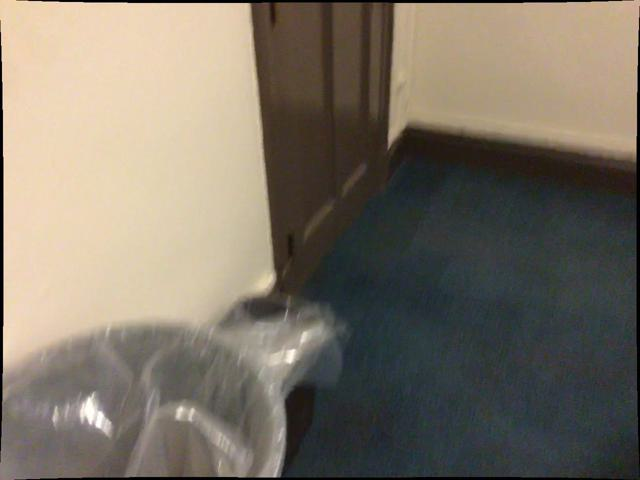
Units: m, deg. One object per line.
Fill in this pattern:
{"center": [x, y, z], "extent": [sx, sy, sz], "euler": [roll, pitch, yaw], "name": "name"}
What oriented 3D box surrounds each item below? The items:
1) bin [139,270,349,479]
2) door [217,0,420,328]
{"center": [-0.170, 0.390, 1.550], "extent": [0.370, 0.380, 0.410], "euler": [14, 38, 21], "name": "bin"}
{"center": [0.100, -1.021, 1.960], "extent": [0.120, 2.251, 1.490], "euler": [13, 38, 21], "name": "door"}
